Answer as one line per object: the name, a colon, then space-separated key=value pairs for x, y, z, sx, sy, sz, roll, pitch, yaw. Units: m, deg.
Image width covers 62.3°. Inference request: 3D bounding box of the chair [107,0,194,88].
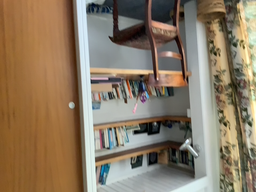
chair: x=0.180 y=-0.530 z=1.830 sx=0.480 sy=0.870 sz=0.500 roll=-4 pitch=179 yaw=-36
